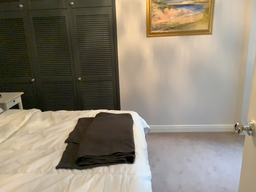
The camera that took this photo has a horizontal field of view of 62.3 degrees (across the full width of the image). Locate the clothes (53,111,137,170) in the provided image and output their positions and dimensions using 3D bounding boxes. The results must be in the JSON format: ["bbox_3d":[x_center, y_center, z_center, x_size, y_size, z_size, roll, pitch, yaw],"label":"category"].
[{"bbox_3d":[-0.210,0.310,1.740,0.520,0.050,0.880,-2,16,0],"label":"clothes"}]
